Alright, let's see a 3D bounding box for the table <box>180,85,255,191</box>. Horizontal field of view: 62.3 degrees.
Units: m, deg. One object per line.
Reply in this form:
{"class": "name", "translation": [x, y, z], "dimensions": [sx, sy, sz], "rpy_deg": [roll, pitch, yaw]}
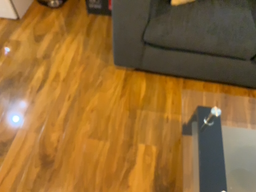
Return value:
{"class": "table", "translation": [0.740, 0.370, 1.060], "dimensions": [0.860, 0.380, 0.610], "rpy_deg": [10, 57, 3]}
